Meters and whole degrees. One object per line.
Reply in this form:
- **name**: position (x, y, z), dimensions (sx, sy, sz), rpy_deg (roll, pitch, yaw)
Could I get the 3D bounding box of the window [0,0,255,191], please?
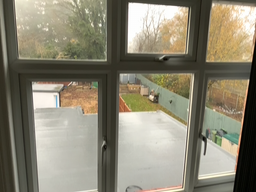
- **window**: position (0.170, 0.020, 1.290), dimensions (1.620, 1.310, 0.160), rpy_deg (-1, 12, -14)
